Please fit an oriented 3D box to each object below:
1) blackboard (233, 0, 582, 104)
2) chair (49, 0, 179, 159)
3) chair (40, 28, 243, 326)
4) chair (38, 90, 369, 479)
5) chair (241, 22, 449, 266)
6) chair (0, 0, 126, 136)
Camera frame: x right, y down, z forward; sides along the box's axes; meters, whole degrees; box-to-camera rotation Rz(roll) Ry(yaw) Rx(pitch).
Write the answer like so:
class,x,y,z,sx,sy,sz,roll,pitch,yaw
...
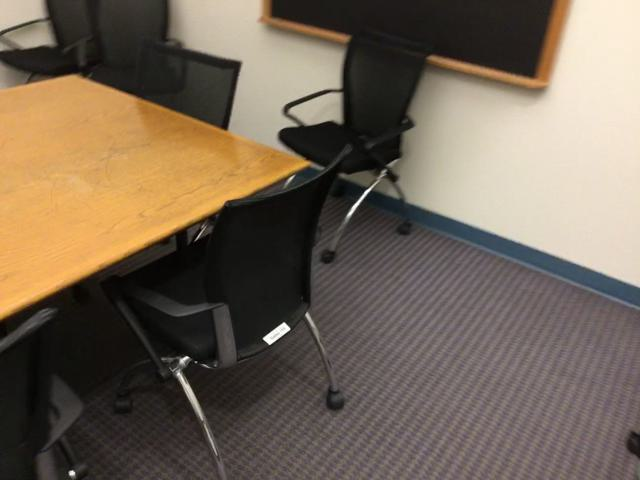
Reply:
class,x,y,z,sx,sy,sz,roll,pitch,yaw
blackboard,0.280,-1.100,2.560,1.620,0.590,0.120,23,36,25
chair,-1.140,-1.020,3.200,0.550,0.910,0.630,-9,35,-21
chair,-0.620,-0.240,2.180,0.500,0.920,0.420,23,36,25
chair,-0.290,0.150,1.650,0.540,0.910,0.570,23,36,25
chair,0.080,-0.480,2.720,0.660,0.840,0.600,30,40,34
chair,-1.630,-1.210,3.380,0.570,0.930,0.660,23,36,25
